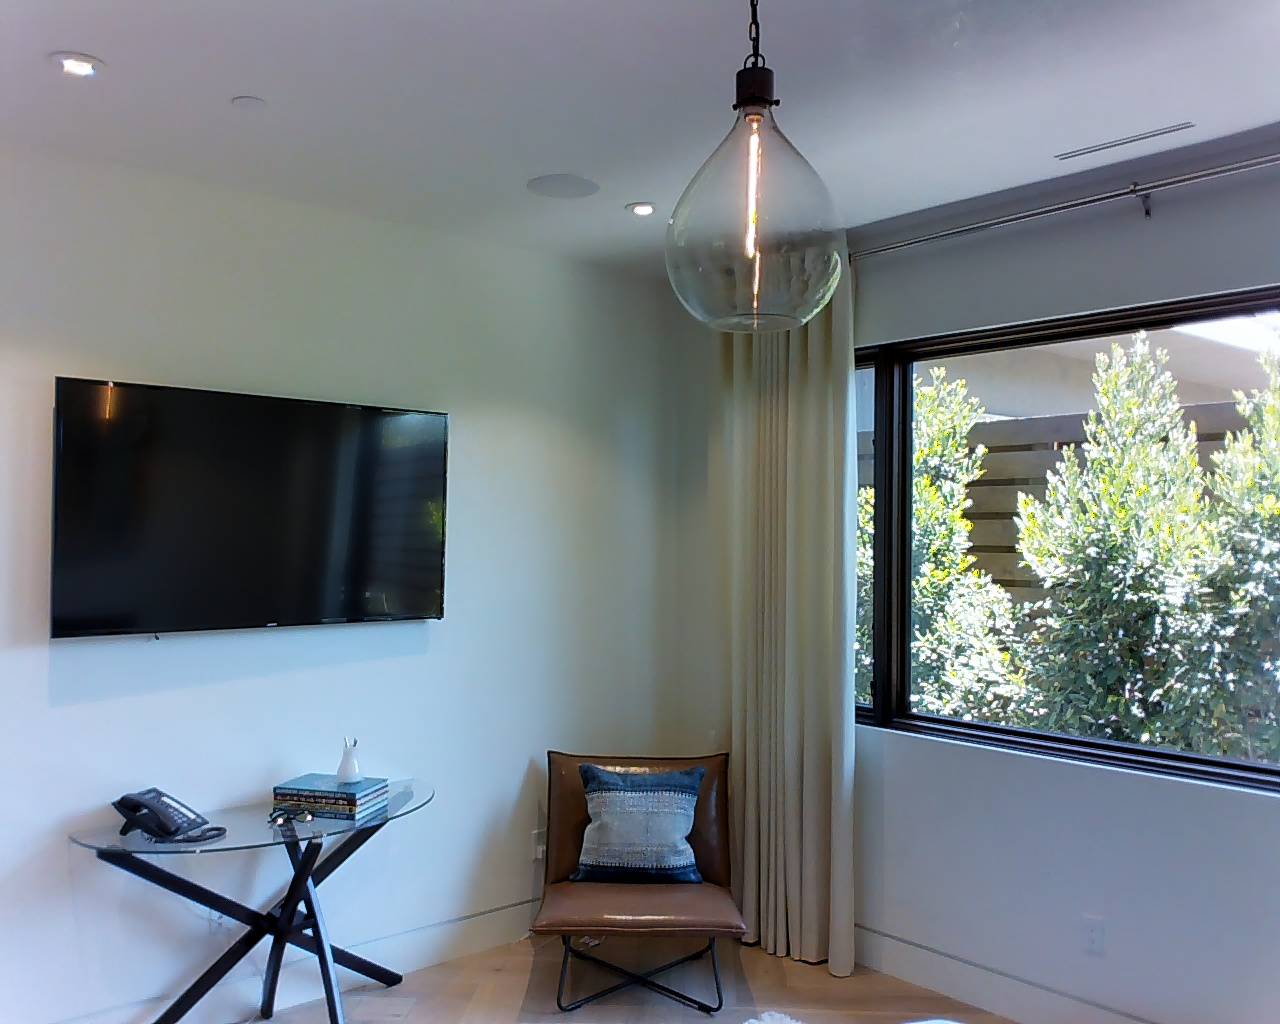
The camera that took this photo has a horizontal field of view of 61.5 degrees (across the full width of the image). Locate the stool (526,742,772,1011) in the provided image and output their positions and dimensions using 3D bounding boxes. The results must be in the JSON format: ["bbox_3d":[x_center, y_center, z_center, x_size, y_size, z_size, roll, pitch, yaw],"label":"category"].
[{"bbox_3d":[0.030,1.310,4.020,0.820,0.730,0.820,1,-1,0],"label":"stool"}]

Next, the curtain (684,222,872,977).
[{"bbox_3d":[0.540,0.320,4.370,0.150,2.810,0.840,2,-1,-42],"label":"curtain"}]
